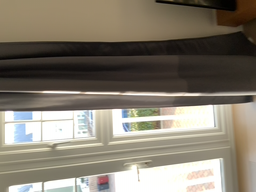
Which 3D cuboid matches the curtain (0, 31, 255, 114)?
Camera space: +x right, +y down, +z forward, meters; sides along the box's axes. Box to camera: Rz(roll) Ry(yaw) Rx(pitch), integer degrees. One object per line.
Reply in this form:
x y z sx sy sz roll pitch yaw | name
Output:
-0.130 -0.130 1.330 0.230 2.480 0.400 155 112 -70 | curtain
